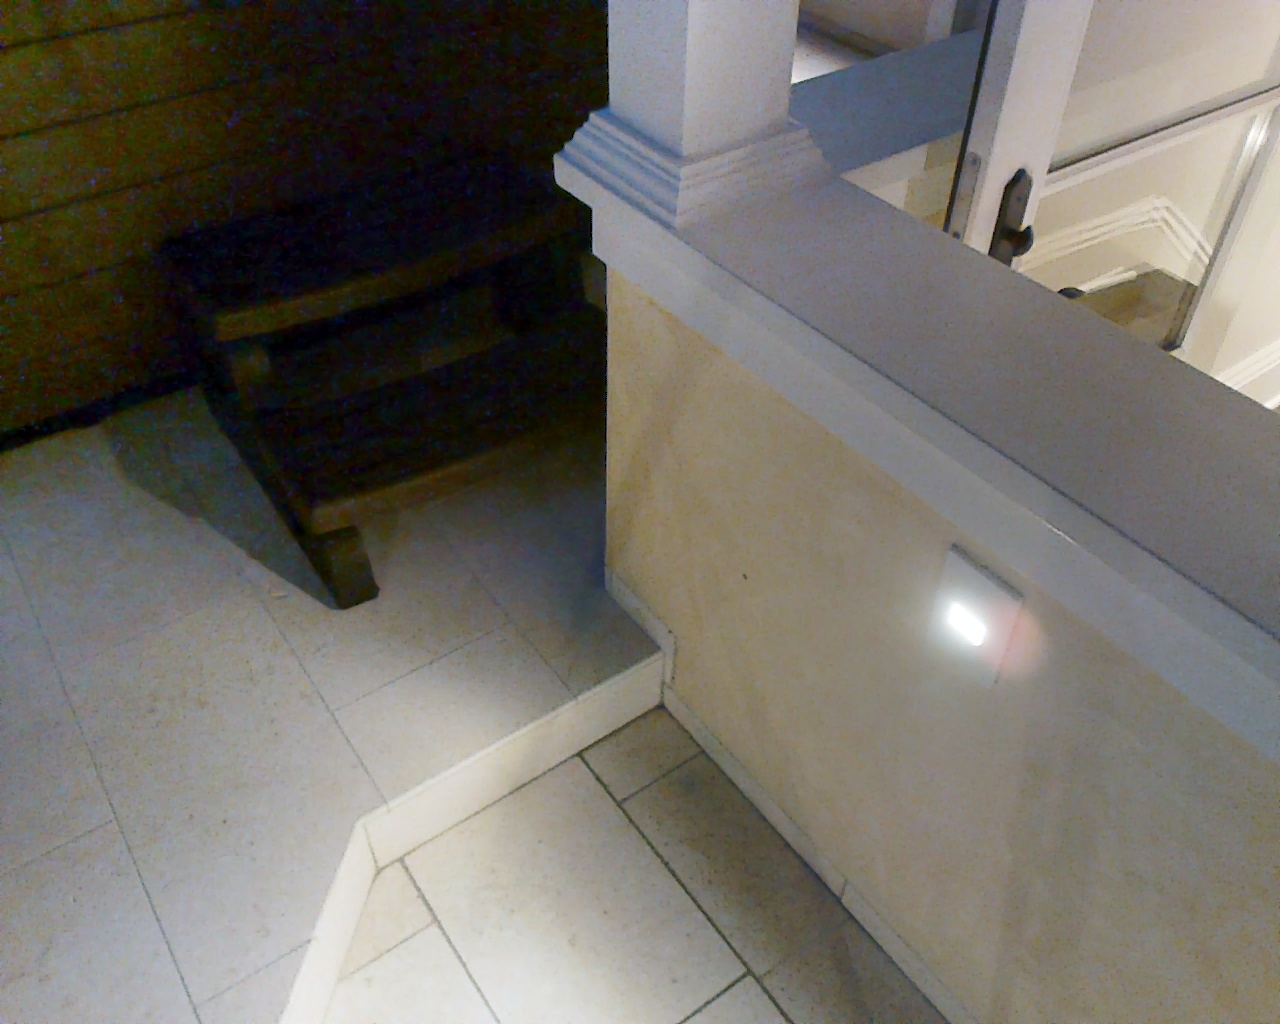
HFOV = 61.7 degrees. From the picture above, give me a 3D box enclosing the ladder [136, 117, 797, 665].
[{"bbox_3d":[-0.300,-0.280,1.930,0.870,0.410,0.710,-25,48,-23],"label":"ladder"}]
